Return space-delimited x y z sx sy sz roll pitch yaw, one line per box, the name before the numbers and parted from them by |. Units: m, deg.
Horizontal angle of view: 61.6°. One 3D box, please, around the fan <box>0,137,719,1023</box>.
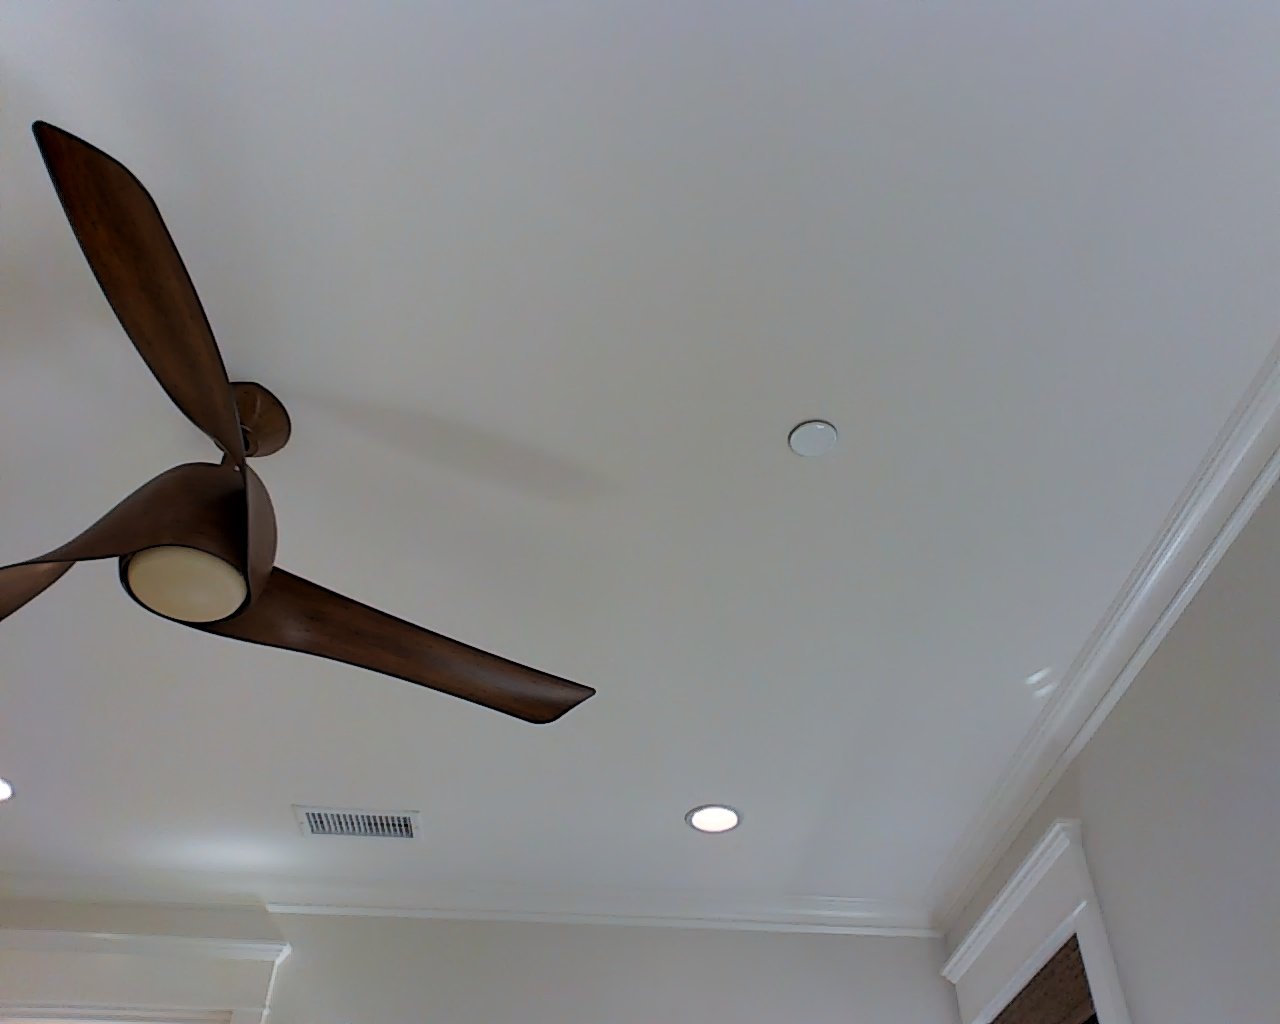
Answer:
fan | -0.630 0.130 1.780 1.419 1.331 0.380 3 3 -1
